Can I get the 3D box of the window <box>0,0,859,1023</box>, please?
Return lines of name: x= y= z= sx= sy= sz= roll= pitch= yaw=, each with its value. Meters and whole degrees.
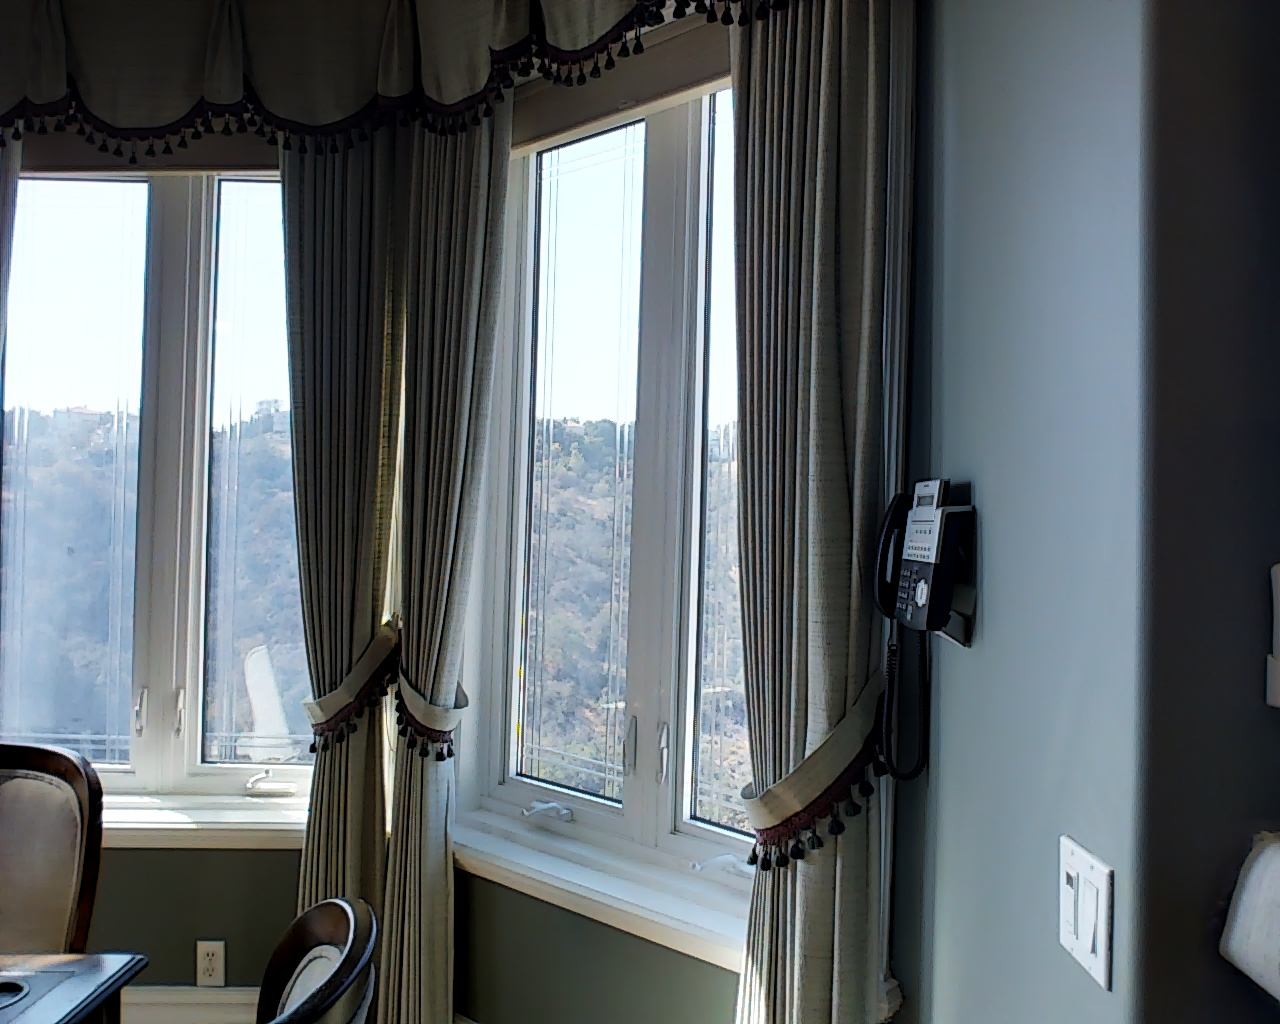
window: x=-1.170 y=0.010 z=2.250 sx=3.020 sy=1.860 sz=0.970 roll=1 pitch=1 yaw=-1
